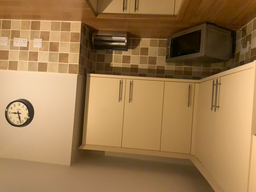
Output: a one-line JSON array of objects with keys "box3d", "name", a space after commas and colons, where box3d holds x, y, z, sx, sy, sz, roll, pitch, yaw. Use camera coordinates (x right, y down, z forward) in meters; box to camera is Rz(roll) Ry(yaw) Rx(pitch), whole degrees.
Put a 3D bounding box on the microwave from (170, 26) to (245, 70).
[{"box3d": [0.760, -0.460, 2.140, 0.540, 0.290, 0.490, 4, 180, -3], "name": "microwave"}]
